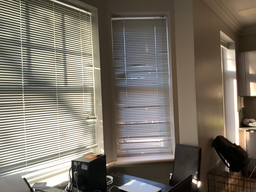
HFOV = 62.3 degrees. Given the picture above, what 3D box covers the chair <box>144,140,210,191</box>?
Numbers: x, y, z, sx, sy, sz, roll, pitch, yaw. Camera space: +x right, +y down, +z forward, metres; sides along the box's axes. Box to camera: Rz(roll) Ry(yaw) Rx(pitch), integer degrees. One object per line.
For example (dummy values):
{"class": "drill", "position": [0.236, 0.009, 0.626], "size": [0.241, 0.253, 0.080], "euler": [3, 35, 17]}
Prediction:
{"class": "chair", "position": [0.540, 1.050, 2.270], "size": [0.580, 1.000, 0.410], "euler": [-2, 0, -40]}
